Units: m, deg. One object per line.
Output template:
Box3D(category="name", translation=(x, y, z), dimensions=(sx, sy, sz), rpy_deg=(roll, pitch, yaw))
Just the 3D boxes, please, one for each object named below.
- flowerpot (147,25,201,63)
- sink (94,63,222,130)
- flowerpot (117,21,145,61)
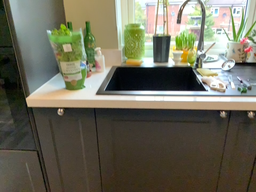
Box3D(category="flowerpot", translation=(0.310, -0.380, 1.520), dimensions=(0.330, 0.220, 0.250), rpy_deg=(0, 24, 3))
Box3D(category="sink", translation=(0.150, -0.030, 1.220), dimensions=(0.570, 0.190, 0.500), rpy_deg=(1, 24, 5))
Box3D(category="flowerpot", translation=(0.030, -0.400, 1.530), dimensions=(0.180, 0.260, 0.170), rpy_deg=(1, 24, 6))
